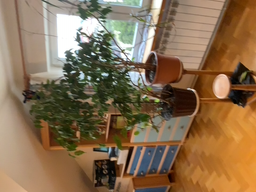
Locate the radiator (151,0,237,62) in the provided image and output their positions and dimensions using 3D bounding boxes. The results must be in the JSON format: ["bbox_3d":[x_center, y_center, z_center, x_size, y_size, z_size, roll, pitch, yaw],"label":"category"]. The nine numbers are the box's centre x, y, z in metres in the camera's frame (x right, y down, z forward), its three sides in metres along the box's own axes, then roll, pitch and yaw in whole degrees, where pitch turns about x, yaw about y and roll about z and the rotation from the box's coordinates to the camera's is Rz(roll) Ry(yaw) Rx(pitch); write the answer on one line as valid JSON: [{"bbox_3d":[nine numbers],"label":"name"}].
[{"bbox_3d":[0.720,-0.820,2.350,0.160,0.730,0.850,-107,23,-51],"label":"radiator"}]

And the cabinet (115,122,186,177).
[{"bbox_3d":[0.320,0.870,3.450,0.420,0.900,0.810,-106,22,-50],"label":"cabinet"}]
